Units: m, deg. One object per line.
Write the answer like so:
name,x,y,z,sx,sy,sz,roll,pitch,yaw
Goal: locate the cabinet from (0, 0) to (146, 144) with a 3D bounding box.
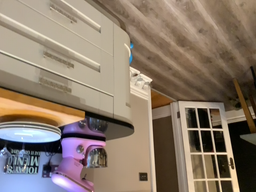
cabinet,-0.480,-0.240,1.380,0.600,0.910,1.110,-19,153,36
